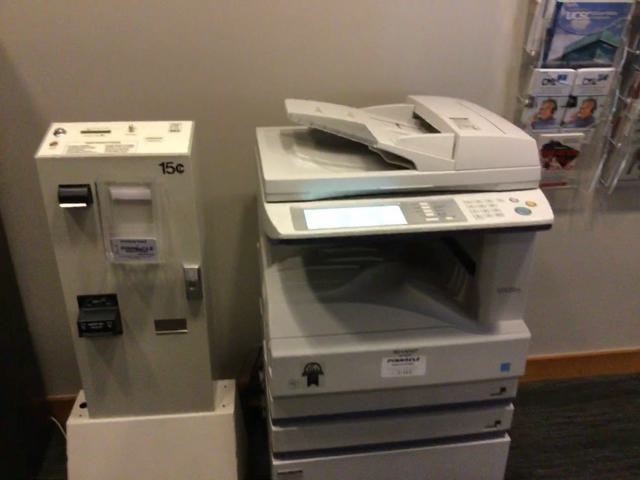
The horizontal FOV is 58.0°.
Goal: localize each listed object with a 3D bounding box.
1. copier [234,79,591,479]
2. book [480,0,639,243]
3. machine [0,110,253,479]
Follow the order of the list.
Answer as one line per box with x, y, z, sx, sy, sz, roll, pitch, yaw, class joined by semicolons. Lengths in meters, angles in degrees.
0.150;0.200;1.510;0.640;1.090;0.610;-5;24;-6;copier
0.840;-0.580;1.570;0.690;1.160;0.150;-5;24;-6;book
-0.440;0.270;1.400;0.470;1.070;0.350;-5;24;-6;machine
